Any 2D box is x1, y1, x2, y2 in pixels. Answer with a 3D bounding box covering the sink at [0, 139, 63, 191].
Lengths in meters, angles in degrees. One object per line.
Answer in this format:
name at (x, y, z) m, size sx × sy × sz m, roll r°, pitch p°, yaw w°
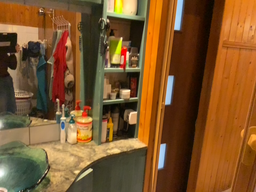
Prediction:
sink at (-0.540, 0.370, 0.870) m, size 0.430 × 0.140 × 0.460 m, roll -4°, pitch 16°, yaw -29°
